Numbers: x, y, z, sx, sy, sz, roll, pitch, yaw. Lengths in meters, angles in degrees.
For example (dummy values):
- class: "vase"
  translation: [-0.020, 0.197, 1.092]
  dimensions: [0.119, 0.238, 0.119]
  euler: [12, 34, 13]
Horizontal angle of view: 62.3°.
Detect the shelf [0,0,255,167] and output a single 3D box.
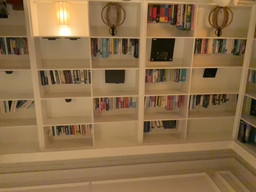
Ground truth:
- class: "shelf"
  translation: [-0.350, -0.140, 2.680]
  dimensions: [4.090, 1.910, 0.390]
  euler: [-1, -164, -8]
